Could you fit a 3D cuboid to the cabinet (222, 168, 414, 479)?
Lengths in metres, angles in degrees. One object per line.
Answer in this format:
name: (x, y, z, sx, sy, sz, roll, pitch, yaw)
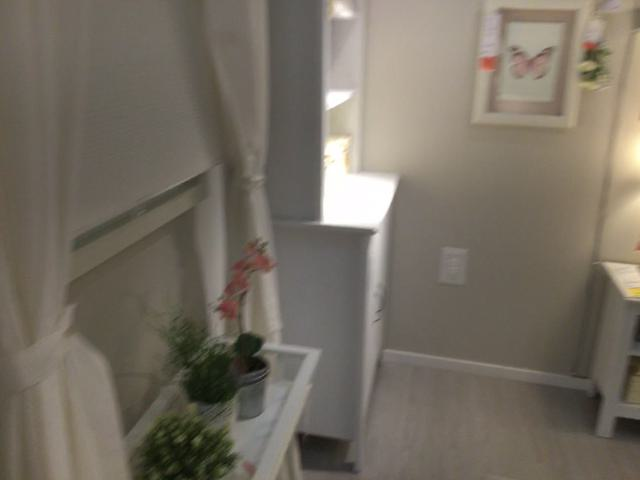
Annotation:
cabinet: (0.050, 0.260, 2.230, 0.500, 0.930, 0.770, 4, 18, 16)
